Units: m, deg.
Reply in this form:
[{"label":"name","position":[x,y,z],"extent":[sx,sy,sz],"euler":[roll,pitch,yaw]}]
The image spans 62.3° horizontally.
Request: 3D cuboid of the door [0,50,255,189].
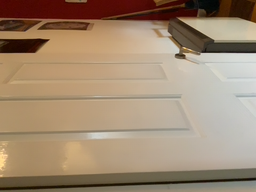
[{"label":"door","position":[0.030,-0.030,0.750],"extent":[0.780,1.980,0.030],"euler":[-98,8,-61]}]
